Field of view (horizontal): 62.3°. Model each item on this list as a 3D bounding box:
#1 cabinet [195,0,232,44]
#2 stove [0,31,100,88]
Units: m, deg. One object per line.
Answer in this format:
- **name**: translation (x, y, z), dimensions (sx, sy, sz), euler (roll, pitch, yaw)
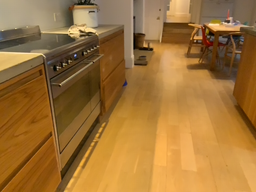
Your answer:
- **cabinet**: translation (2.750, -2.570, 6.870), dimensions (0.900, 1.650, 0.430), euler (5, 23, 11)
- **stove**: translation (-0.660, -0.330, 1.580), dimensions (0.660, 0.190, 0.900), euler (5, 23, 9)
